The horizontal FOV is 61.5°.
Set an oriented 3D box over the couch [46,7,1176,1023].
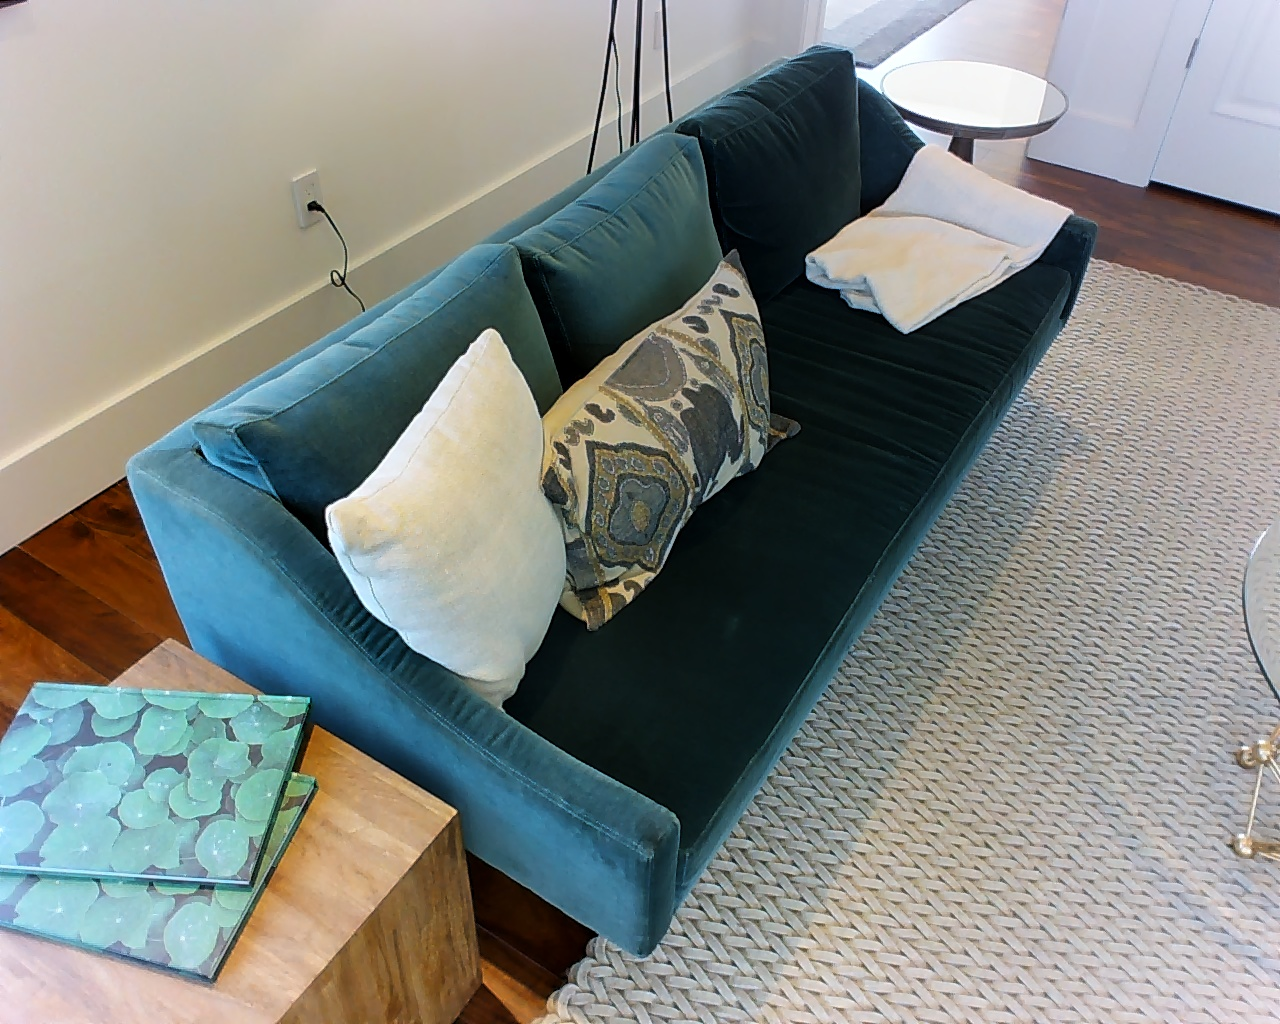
[{"bbox_3d":[0.180,-0.210,1.990,0.890,0.740,1.960,24,46,23],"label":"couch"}]
